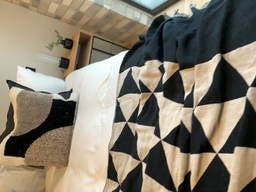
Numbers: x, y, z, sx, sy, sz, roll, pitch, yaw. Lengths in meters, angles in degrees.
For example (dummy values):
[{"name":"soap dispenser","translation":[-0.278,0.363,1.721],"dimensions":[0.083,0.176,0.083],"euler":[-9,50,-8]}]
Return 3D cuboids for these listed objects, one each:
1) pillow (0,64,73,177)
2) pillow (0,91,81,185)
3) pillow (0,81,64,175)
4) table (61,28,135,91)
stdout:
[{"name":"pillow","translation":[-0.730,0.180,1.630],"dimensions":[0.360,0.360,0.750],"euler":[7,85,60]},{"name":"pillow","translation":[-0.490,0.230,1.250],"dimensions":[0.130,0.370,0.460],"euler":[4,84,33]},{"name":"pillow","translation":[-0.630,0.210,1.370],"dimensions":[0.120,0.300,0.550],"euler":[-1,77,60]},{"name":"table","translation":[-0.290,-0.330,2.120],"dimensions":[0.310,0.600,0.420],"euler":[-6,74,59]}]
